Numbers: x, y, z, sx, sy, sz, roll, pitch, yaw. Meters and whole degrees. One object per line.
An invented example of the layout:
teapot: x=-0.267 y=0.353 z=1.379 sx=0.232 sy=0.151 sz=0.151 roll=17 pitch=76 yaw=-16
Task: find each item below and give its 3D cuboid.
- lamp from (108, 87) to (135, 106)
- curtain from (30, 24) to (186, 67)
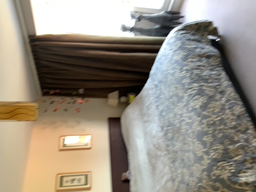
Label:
lamp: x=-0.130 y=0.020 z=4.150 sx=0.310 sy=0.470 sz=0.220 roll=109 pitch=158 yaw=-54
curtain: x=-0.270 y=-0.790 z=3.480 sx=0.500 sy=2.360 sz=0.240 roll=109 pitch=158 yaw=-54
